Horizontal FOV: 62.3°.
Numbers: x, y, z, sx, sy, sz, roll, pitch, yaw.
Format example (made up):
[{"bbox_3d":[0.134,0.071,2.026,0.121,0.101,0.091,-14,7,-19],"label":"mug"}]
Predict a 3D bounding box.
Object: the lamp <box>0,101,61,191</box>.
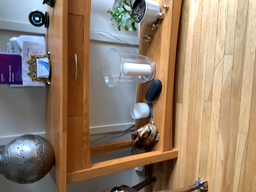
[{"bbox_3d":[-0.610,0.230,0.990,0.440,0.470,0.350,10,99,57],"label":"lamp"}]
